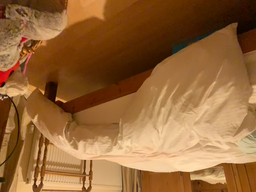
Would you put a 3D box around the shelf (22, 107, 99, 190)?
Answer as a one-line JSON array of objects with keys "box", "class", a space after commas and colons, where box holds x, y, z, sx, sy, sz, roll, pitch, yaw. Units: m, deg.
[{"box": [-0.650, 0.590, 2.250, 0.190, 0.730, 0.730, -19, 149, 32], "class": "shelf"}]
